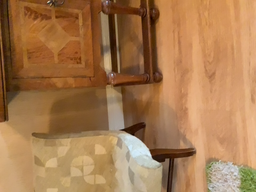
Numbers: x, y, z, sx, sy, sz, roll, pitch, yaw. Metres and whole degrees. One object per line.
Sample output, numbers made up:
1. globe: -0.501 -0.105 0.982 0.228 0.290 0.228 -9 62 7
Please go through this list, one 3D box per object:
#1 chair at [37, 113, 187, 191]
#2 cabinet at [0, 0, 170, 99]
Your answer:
1. chair: -0.120 0.400 1.160 0.570 0.590 0.430 17 108 55
2. cabinet: -0.310 -0.710 1.110 0.540 0.810 1.400 -1 93 57
